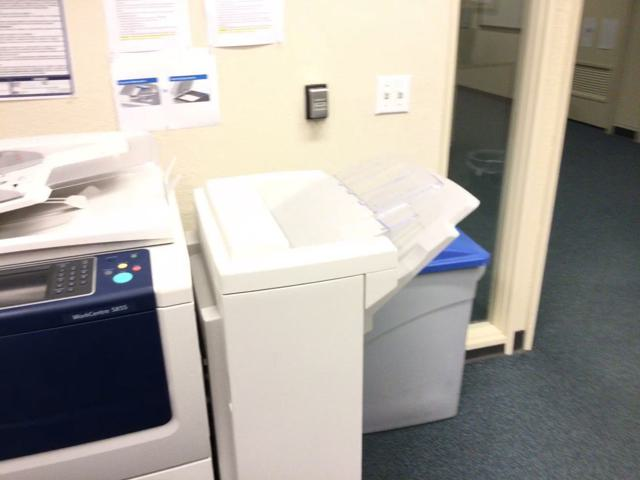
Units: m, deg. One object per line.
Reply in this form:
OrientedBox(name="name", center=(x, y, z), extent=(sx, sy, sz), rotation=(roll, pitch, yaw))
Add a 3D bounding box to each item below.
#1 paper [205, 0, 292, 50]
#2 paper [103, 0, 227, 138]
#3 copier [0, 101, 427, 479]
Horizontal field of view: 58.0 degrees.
OrientedBox(name="paper", center=(-0.200, -0.670, 1.560), extent=(0.220, 0.280, 0.040), rotation=(-11, 20, -16))
OrientedBox(name="paper", center=(-0.420, -0.490, 1.580), extent=(0.270, 0.380, 0.070), rotation=(-11, 20, -16))
OrientedBox(name="copier", center=(-0.370, 0.310, 1.310), extent=(1.040, 1.070, 0.600), rotation=(-11, 20, -16))
